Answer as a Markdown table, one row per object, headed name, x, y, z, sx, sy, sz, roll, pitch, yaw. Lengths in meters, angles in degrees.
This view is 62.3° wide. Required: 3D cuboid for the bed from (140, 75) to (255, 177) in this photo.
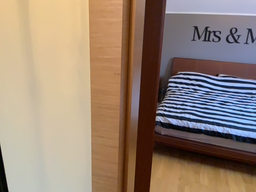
| name | x | y | z | sx | sy | sz | roll | pitch | yaw |
| --- | --- | --- | --- | --- | --- | --- | --- | --- | --- |
| bed | 1.370 | 0.240 | 3.230 | 1.820 | 0.480 | 2.220 | 8 | 20 | 16 |
